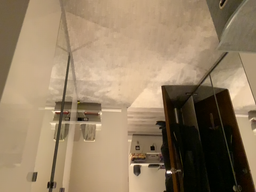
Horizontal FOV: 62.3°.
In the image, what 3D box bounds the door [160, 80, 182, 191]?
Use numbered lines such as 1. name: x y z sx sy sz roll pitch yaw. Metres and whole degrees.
1. door: 0.520 0.870 2.450 0.050 2.090 0.610 -4 152 4
